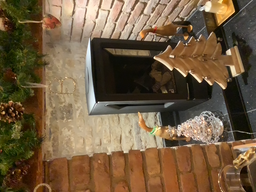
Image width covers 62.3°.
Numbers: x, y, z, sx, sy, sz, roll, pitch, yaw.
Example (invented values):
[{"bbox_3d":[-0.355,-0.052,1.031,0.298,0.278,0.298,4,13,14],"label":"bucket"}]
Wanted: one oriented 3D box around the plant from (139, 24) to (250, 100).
[{"bbox_3d":[0.410,-0.200,1.380,0.270,0.560,0.370,128,138,-60],"label":"plant"}]
